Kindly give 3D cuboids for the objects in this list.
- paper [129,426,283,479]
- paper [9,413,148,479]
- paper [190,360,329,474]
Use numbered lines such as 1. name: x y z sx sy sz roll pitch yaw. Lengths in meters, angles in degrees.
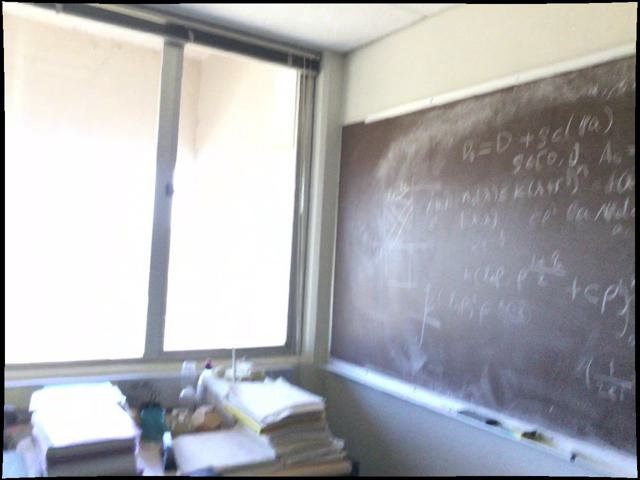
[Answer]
1. paper: -0.389 0.732 1.900 0.339 0.070 0.480 5 -3 -33
2. paper: -0.678 0.632 1.600 0.289 0.190 0.340 5 -3 -33
3. paper: -0.249 0.632 2.160 0.260 0.251 0.600 5 -3 -33
